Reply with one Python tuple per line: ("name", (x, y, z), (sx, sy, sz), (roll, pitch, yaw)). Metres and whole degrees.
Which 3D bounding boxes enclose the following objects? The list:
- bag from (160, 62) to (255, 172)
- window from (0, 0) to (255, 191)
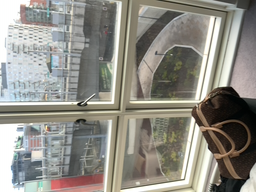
("bag", (0.620, 0.160, 1.400), (0.560, 0.550, 0.550), (143, 124, -65))
("window", (-0.250, 0.090, 1.500), (0.250, 2.270, 1.780), (-140, 53, -64))
